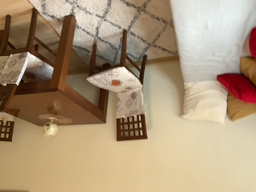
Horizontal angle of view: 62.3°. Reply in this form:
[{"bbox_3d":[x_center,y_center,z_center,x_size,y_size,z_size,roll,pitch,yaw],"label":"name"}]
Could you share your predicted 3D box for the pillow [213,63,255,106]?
[{"bbox_3d":[1.010,-0.090,1.860,0.410,0.260,0.320,-2,157,10],"label":"pillow"}]
